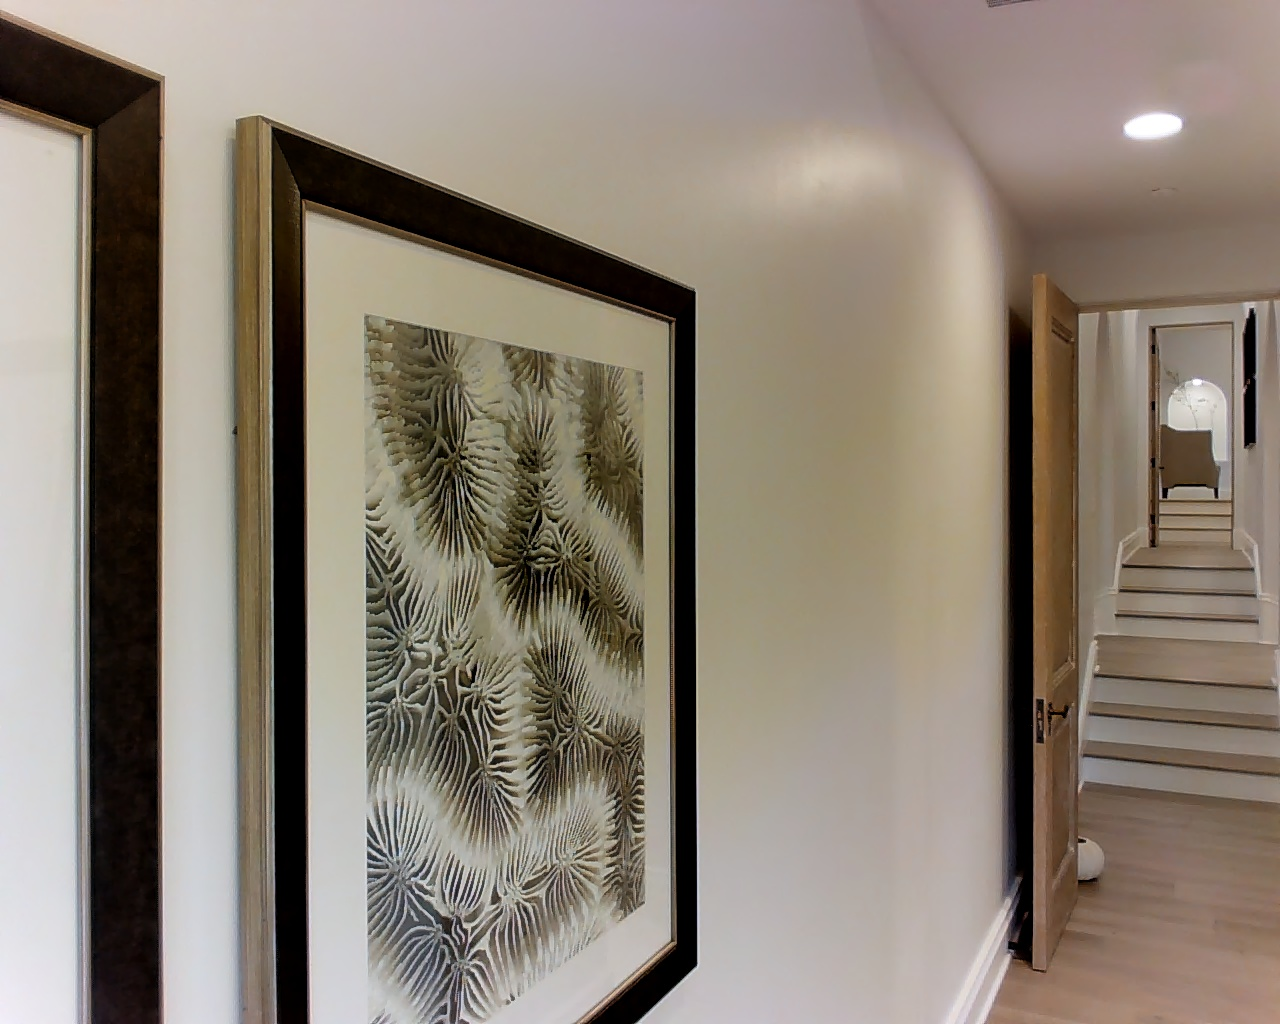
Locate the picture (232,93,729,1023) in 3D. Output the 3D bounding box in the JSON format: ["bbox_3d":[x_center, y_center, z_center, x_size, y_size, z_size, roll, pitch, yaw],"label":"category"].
[{"bbox_3d":[-0.090,0.190,1.100,0.040,0.960,0.770,1,0,28],"label":"picture"}]
